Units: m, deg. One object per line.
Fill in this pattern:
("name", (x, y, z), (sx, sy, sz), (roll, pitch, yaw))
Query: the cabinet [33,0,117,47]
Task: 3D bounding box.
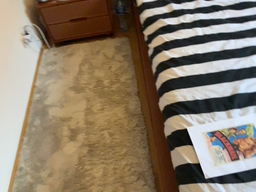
("cabinet", (-0.470, -0.820, 2.010), (0.630, 0.410, 0.420), (-10, 53, 0))
